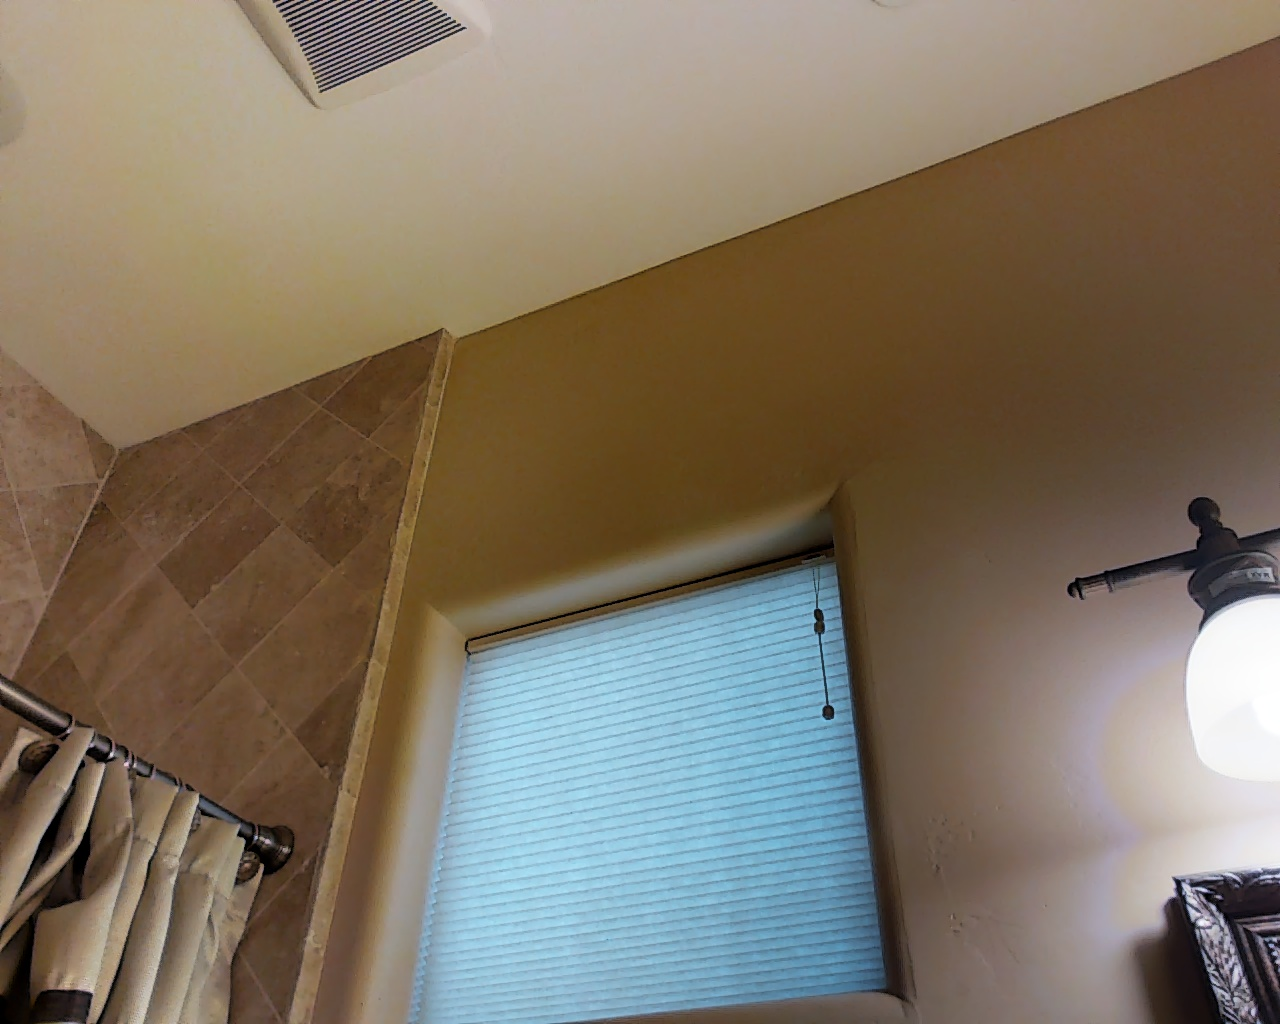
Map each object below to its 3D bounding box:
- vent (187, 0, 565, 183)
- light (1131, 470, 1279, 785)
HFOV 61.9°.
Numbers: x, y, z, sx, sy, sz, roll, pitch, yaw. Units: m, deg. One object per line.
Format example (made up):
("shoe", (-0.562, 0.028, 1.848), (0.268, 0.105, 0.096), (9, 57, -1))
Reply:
("vent", (-0.410, -0.750, 1.460), (0.420, 0.060, 0.510), (-17, -44, 19))
("light", (0.530, 0.090, 0.880), (0.170, 0.190, 0.150), (-16, -44, 19))
